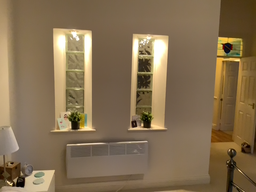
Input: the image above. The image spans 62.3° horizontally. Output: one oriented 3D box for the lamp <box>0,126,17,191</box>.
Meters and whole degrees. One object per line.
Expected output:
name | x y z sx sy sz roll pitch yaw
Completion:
lamp | -1.070 0.550 1.810 0.170 0.560 0.130 0 7 -10
